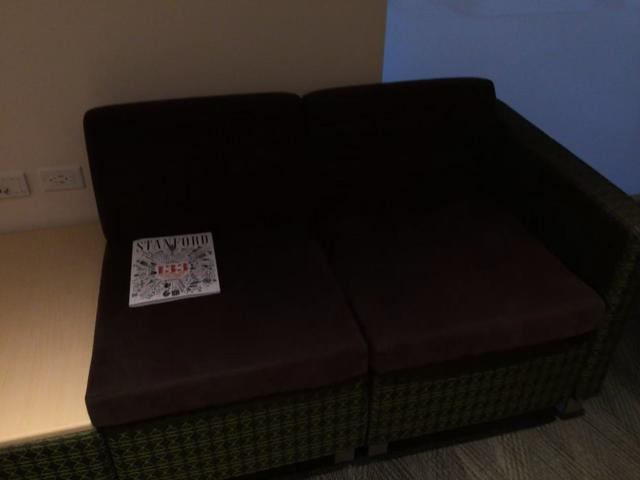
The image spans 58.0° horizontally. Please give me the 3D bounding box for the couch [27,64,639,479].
[{"bbox_3d":[0.080,0.060,1.550,1.290,0.790,0.790,-6,32,-12],"label":"couch"}]
